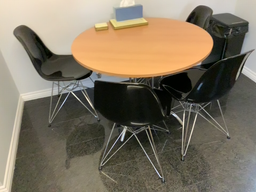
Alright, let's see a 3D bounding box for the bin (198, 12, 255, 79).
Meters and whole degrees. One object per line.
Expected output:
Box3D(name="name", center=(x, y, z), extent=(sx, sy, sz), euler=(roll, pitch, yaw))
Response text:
Box3D(name="bin", center=(1.080, -0.560, 2.350), extent=(0.310, 0.570, 0.400), euler=(-15, 39, -15))
